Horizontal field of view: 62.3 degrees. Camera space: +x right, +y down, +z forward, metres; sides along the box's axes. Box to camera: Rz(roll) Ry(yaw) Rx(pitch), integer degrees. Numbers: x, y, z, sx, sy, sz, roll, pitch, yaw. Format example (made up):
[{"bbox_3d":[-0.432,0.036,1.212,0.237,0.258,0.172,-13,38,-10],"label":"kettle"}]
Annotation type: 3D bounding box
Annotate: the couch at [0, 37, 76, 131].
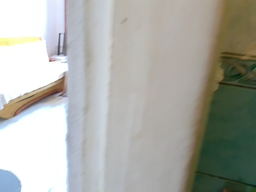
[{"bbox_3d":[-1.580,-0.370,3.390,0.720,0.950,1.950,9,19,8],"label":"couch"}]
